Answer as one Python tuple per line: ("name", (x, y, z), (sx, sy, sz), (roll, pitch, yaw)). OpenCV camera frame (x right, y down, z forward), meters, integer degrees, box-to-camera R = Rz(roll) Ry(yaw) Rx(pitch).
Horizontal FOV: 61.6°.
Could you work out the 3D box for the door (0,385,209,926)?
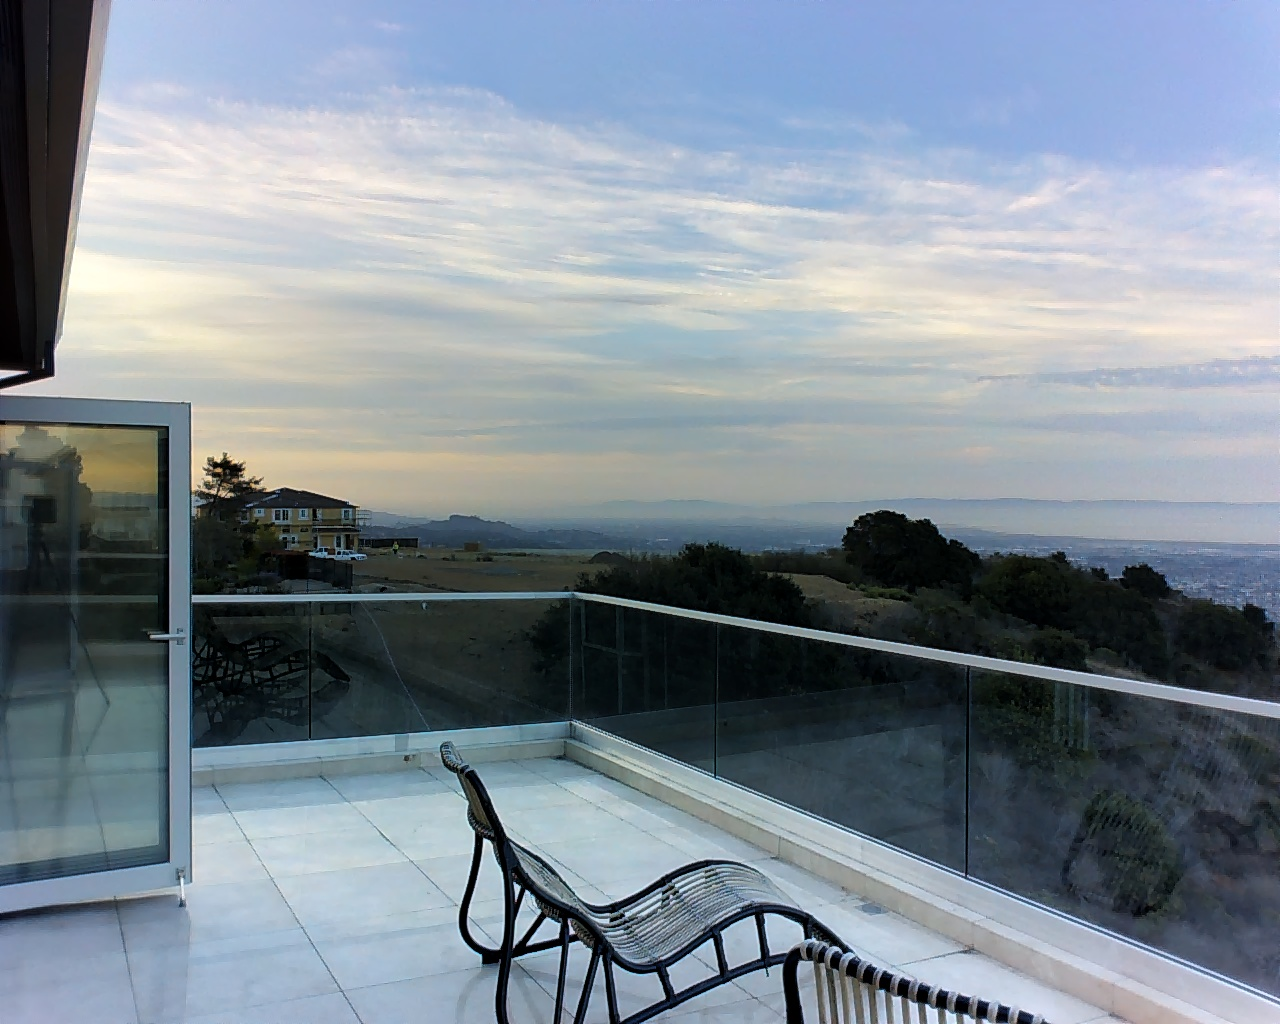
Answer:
("door", (-2.260, 0.530, 4.210), (1.000, 1.990, 0.370), (1, 0, -29))
